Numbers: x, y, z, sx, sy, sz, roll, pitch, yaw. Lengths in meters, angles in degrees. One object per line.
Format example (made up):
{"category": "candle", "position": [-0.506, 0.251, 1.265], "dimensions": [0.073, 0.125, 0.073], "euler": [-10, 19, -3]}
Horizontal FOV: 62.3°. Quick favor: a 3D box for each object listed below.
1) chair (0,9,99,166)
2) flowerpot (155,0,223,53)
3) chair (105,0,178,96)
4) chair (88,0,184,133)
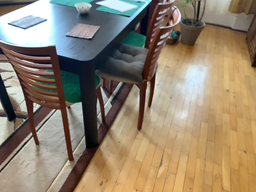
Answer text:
{"category": "chair", "position": [-0.480, -0.030, 1.380], "dimensions": [0.410, 0.860, 0.430], "euler": [15, 41, 12]}
{"category": "flowerpot", "position": [0.930, -1.450, 2.930], "dimensions": [0.730, 1.300, 0.880], "euler": [16, 41, 13]}
{"category": "chair", "position": [0.110, -0.530, 2.030], "dimensions": [0.520, 0.870, 0.450], "euler": [15, 41, 12]}
{"category": "chair", "position": [0.050, -0.230, 1.670], "dimensions": [0.520, 0.860, 0.460], "euler": [15, 41, 12]}
